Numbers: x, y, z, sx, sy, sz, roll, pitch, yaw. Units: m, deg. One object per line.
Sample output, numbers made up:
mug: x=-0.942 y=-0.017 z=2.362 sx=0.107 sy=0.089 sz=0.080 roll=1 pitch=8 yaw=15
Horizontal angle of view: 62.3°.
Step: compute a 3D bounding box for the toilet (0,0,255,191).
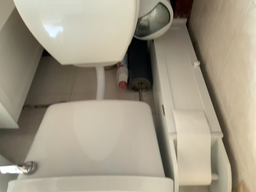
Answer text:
toilet: x=-0.110 y=-0.170 z=0.700 sx=0.450 sy=0.890 sz=0.700 roll=-1 pitch=142 yaw=-1
